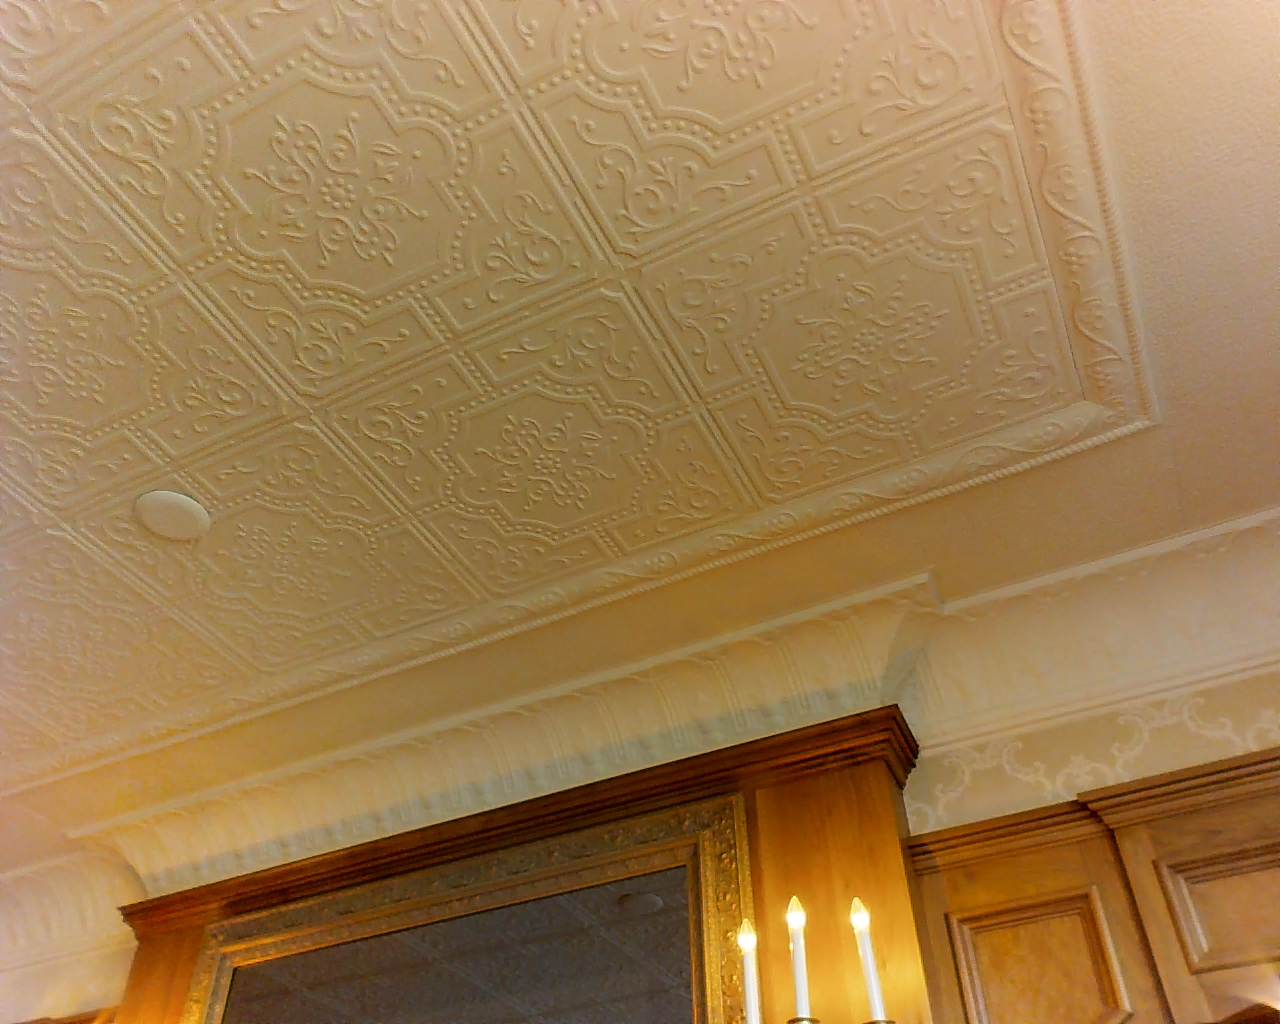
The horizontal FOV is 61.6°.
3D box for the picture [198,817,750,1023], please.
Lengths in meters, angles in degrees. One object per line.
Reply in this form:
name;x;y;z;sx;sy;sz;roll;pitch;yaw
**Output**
picture;-0.410;1.281;2.020;1.330;1.190;0.080;-19;-46;19
